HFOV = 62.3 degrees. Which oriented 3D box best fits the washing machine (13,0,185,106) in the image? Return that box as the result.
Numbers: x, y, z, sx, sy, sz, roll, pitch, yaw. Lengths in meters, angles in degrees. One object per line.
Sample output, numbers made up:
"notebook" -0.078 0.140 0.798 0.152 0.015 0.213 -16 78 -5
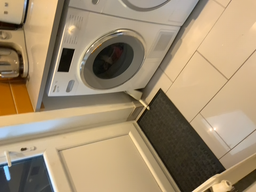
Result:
"washing machine" -0.250 -0.440 1.570 0.710 0.910 0.610 55 134 31
